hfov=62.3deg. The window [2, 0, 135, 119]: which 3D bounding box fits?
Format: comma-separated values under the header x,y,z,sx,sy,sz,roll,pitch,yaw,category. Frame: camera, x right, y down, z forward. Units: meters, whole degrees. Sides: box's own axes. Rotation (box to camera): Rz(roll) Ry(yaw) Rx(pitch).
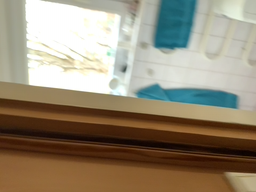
x,y,z,sx,sy,sz,roll,pitch,yaw,category
-0.530,-0.340,1.950,0.160,1.000,1.130,-97,15,-61,window
